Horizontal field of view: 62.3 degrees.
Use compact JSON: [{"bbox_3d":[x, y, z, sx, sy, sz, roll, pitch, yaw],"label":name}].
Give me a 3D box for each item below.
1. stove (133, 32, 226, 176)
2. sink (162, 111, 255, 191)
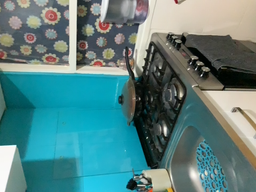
[{"bbox_3d":[0.220,0.030,1.250,0.590,0.150,0.600,-108,24,-50],"label":"stove"},{"bbox_3d":[0.320,0.330,0.870,0.370,0.150,0.390,-108,24,-50],"label":"sink"}]
